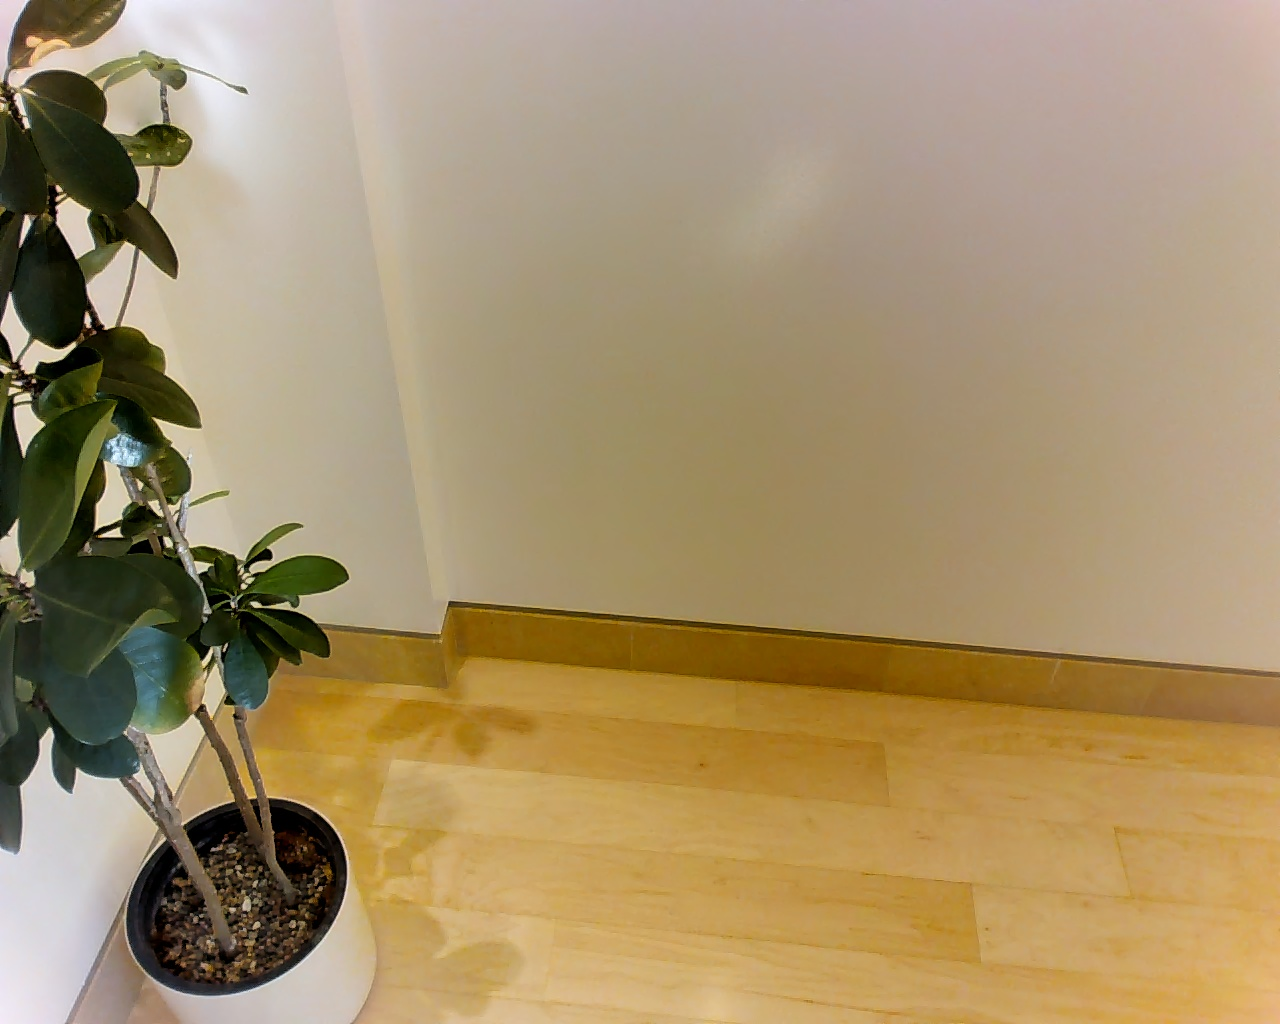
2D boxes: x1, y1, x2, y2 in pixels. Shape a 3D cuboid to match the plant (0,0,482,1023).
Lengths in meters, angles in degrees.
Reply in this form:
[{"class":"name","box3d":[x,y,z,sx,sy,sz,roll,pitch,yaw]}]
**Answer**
[{"class":"plant","box3d":[-0.460,-0.050,0.910,0.420,1.070,0.650,5,41,5]}]
